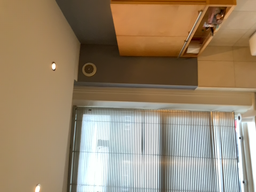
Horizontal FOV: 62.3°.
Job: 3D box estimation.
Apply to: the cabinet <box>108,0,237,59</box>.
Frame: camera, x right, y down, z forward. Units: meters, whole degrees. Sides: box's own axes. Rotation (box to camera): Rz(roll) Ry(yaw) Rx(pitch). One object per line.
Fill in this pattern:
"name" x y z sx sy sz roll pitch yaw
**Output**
"cabinet" 0.260 -0.520 1.620 0.840 0.730 0.130 82 -170 -77
